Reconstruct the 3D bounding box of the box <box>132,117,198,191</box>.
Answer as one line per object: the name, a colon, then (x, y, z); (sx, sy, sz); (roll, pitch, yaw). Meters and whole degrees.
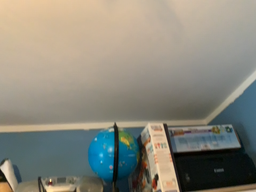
box: (0.150, 0.310, 1.030); (0.170, 0.310, 0.290); (-1, -33, -12)
